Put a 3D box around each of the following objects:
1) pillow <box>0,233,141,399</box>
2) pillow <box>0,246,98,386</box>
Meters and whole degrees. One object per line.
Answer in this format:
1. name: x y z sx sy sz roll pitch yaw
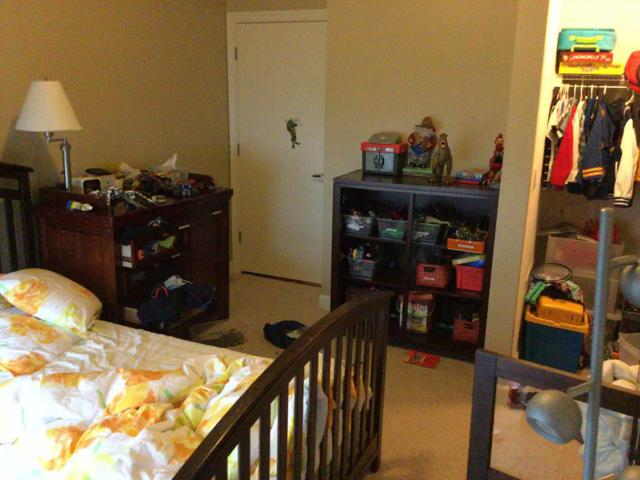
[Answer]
1. pillow: -1.290 0.310 2.690 0.660 0.490 0.540 9 17 23
2. pillow: -1.410 0.280 2.470 0.700 0.330 0.490 9 17 23
